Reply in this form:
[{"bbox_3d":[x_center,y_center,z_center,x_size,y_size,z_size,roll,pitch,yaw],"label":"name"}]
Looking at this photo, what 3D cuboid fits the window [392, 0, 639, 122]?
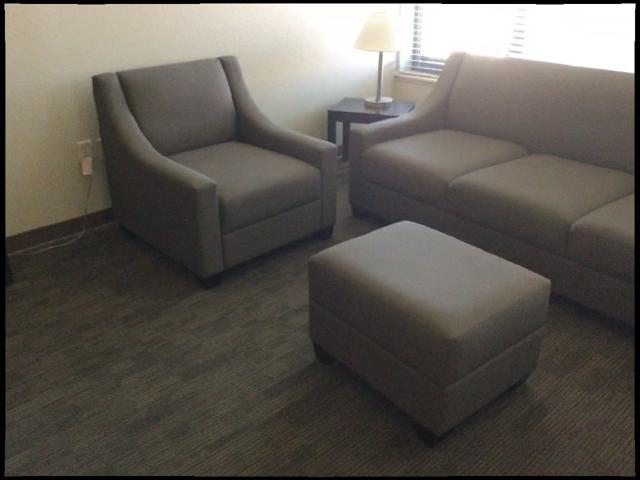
[{"bbox_3d":[1.237,-1.363,3.720,0.390,0.761,1.779,-21,34,-32],"label":"window"}]
